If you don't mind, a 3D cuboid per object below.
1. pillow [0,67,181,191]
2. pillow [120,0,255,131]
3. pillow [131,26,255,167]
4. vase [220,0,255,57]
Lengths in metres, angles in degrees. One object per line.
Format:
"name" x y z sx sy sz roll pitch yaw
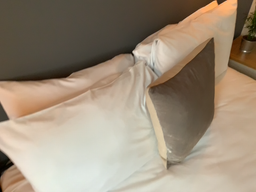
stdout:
"pillow" -0.130 0.160 0.730 0.470 0.400 0.180 -27 75 -28
"pillow" 0.340 -0.220 1.180 0.720 0.470 0.280 -33 62 -30
"pillow" 0.290 0.010 0.890 0.460 0.420 0.210 -33 69 -30
"vase" 0.850 -0.510 1.460 0.250 0.360 0.210 -31 52 -29
